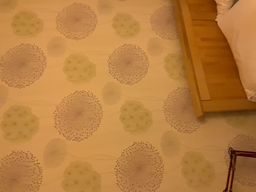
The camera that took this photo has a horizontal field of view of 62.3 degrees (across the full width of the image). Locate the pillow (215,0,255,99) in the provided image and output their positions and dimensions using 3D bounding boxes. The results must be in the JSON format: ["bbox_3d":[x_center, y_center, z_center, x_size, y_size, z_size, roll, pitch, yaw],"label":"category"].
[{"bbox_3d":[0.750,-0.350,1.250,0.380,0.130,0.630,111,155,-67],"label":"pillow"}]
